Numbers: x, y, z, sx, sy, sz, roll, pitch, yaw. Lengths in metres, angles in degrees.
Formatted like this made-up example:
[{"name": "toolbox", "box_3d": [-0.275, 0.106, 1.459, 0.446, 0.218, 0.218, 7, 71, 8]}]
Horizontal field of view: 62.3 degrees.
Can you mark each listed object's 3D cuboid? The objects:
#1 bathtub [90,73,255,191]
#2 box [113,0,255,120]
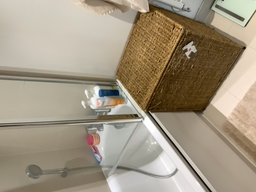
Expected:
[{"name": "bathtub", "box_3d": [0.400, 0.630, 1.290, 1.670, 0.560, 0.690, 54, 130, 41]}, {"name": "box", "box_3d": [0.330, -0.220, 1.400, 0.410, 0.570, 0.610, 54, 130, 41]}]
